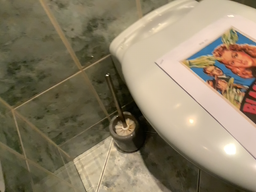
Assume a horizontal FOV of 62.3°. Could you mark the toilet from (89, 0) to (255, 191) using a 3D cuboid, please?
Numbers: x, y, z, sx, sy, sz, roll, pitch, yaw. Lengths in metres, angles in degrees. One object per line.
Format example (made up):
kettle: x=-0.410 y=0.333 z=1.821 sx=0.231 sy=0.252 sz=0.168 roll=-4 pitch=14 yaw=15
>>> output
toilet: x=0.230 y=0.050 z=0.580 sx=0.360 sy=0.460 sz=0.510 roll=-31 pitch=54 yaw=-9
